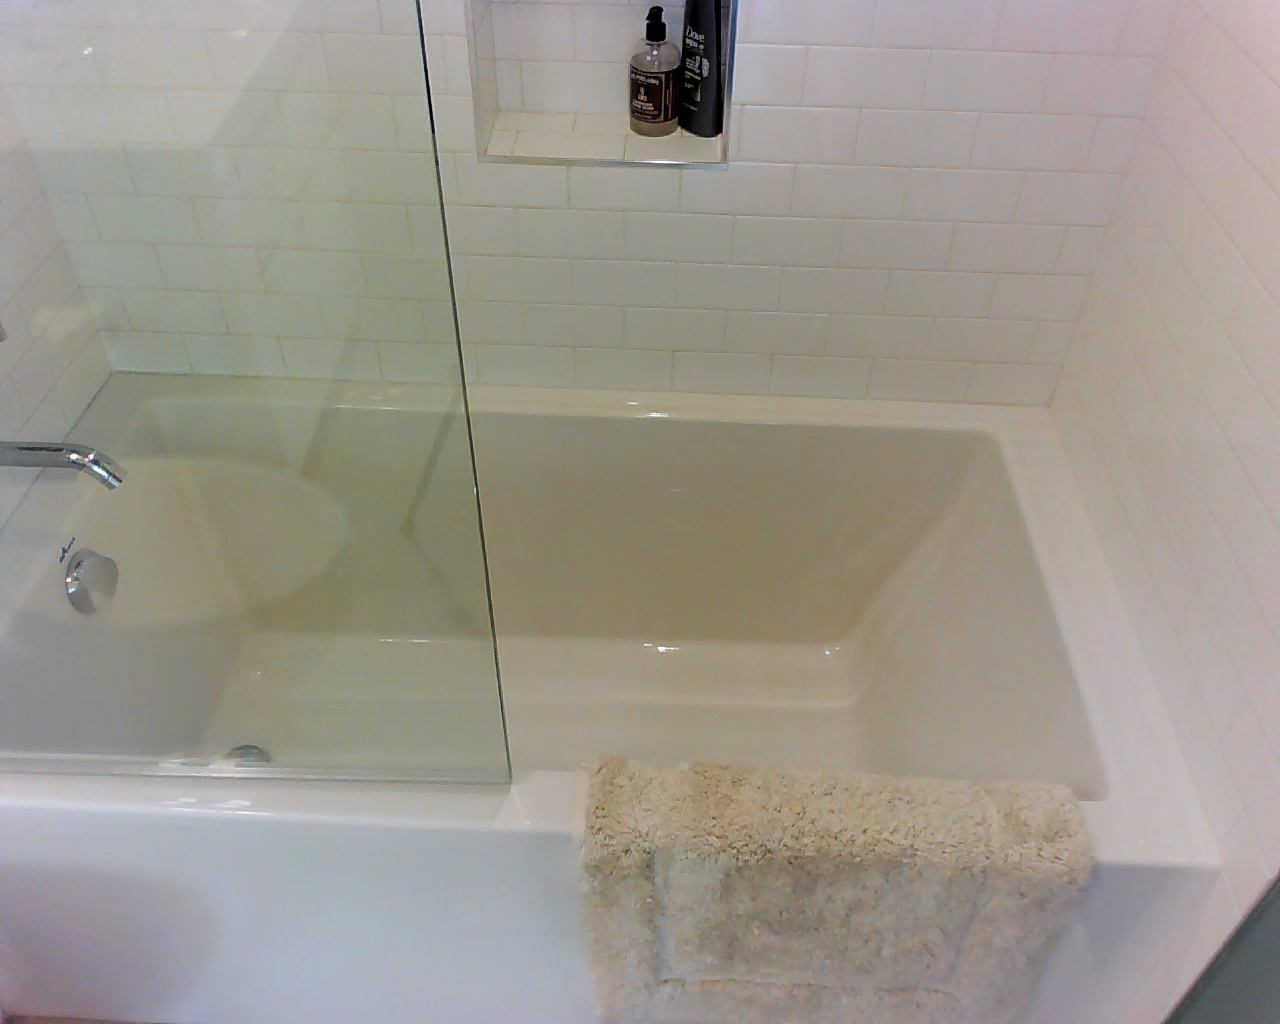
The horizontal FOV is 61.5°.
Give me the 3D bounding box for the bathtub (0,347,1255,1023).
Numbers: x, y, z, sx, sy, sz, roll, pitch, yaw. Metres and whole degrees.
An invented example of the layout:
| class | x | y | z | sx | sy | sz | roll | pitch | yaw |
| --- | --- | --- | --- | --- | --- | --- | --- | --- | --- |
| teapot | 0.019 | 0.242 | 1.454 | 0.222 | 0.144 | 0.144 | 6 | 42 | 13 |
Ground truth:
| class | x | y | z | sx | sy | sz | roll | pitch | yaw |
| --- | --- | --- | --- | --- | --- | --- | --- | --- | --- |
| bathtub | -0.120 | 0.260 | 1.590 | 1.490 | 0.570 | 0.850 | 2 | 42 | 1 |
